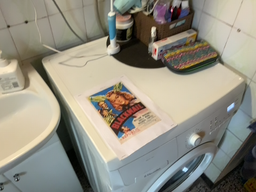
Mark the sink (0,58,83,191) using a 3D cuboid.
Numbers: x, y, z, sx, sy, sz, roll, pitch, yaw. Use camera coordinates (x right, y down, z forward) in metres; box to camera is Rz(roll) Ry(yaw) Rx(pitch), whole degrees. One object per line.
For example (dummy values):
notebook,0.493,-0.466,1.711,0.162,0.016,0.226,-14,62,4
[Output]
sink,-0.510,0.120,0.730,0.550,0.140,0.420,-26,52,-24
